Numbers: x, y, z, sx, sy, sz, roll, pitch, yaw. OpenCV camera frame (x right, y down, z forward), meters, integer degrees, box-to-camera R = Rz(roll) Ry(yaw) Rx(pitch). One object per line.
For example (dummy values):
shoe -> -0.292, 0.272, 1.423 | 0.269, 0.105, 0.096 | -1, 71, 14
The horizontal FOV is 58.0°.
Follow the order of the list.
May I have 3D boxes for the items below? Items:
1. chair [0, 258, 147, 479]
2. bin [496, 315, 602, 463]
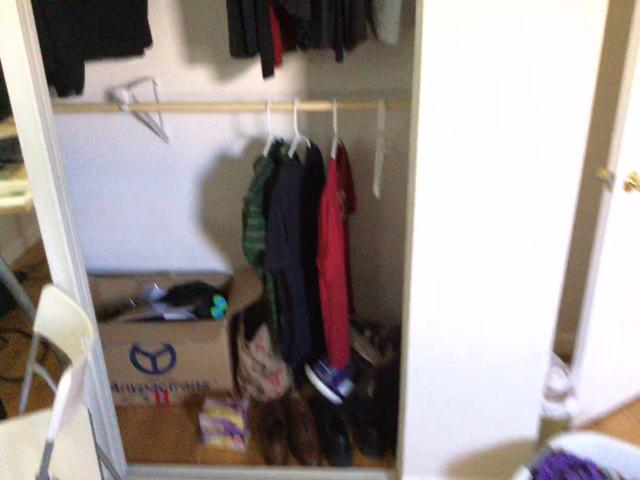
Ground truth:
chair -> -0.770, 0.540, 1.430 | 0.560, 0.750, 0.540 | -11, 24, -16
bin -> 0.750, 0.490, 1.950 | 0.220, 0.330, 0.360 | -2, 23, 6
